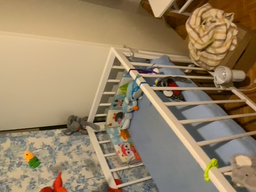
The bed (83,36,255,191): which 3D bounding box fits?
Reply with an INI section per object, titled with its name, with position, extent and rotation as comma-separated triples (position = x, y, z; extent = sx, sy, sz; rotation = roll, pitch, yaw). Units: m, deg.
[bed]
position = 0.400, 0.330, 1.080
extent = 1.280, 0.790, 0.630
rotation = 56, 135, 40
